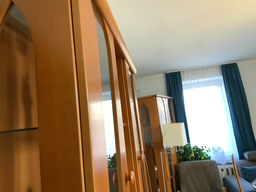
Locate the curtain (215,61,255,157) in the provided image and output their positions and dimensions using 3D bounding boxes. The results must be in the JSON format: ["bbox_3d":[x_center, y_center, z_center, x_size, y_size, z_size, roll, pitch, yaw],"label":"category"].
[{"bbox_3d":[1.830,0.210,3.640,0.350,1.580,0.130,-8,-8,11],"label":"curtain"}]

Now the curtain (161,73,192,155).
[{"bbox_3d":[0.860,0.310,3.790,0.340,1.400,0.120,-8,-8,11],"label":"curtain"}]
